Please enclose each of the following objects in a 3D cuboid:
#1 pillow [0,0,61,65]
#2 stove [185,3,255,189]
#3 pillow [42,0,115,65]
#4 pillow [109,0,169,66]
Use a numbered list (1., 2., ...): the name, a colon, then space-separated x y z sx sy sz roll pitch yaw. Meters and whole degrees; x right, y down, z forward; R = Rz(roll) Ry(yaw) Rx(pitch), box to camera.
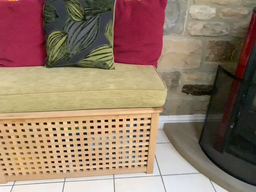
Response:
1. pillow: -0.650 -0.390 1.250 0.430 0.370 0.170 -1 30 -7
2. stove: 0.880 -0.010 1.290 0.670 0.920 0.630 24 36 32
3. pillow: -0.270 -0.380 1.240 0.380 0.370 0.140 0 17 -4
4. pillow: 0.050 -0.420 1.350 0.340 0.410 0.170 1 30 -4
